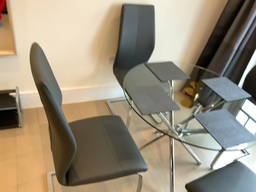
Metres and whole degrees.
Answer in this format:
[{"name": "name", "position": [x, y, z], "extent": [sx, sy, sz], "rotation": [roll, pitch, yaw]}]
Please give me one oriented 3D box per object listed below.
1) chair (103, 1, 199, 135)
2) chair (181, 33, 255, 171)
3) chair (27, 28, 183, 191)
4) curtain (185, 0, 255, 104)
[{"name": "chair", "position": [0.120, -0.240, 1.960], "extent": [0.450, 1.020, 0.580], "rotation": [-6, 39, -24]}, {"name": "chair", "position": [0.960, 0.070, 1.780], "extent": [0.550, 1.020, 0.480], "rotation": [-4, 39, -22]}, {"name": "chair", "position": [-0.210, 0.220, 1.200], "extent": [0.560, 1.030, 0.470], "rotation": [-5, 39, -23]}, {"name": "curtain", "position": [1.140, -1.040, 1.920], "extent": [0.200, 2.450, 0.490], "rotation": [-4, 39, -22]}]
